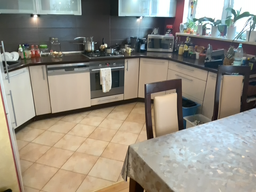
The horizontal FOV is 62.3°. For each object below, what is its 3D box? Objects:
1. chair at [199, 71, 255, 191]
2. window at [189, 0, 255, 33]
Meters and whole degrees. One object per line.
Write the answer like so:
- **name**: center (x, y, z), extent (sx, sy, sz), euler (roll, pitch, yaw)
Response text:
- **chair**: center (1.030, 0.320, 1.970), extent (0.440, 0.970, 0.540), euler (2, 21, 1)
- **window**: center (1.500, -1.550, 3.080), extent (0.060, 1.130, 1.450), euler (-10, 24, -28)
